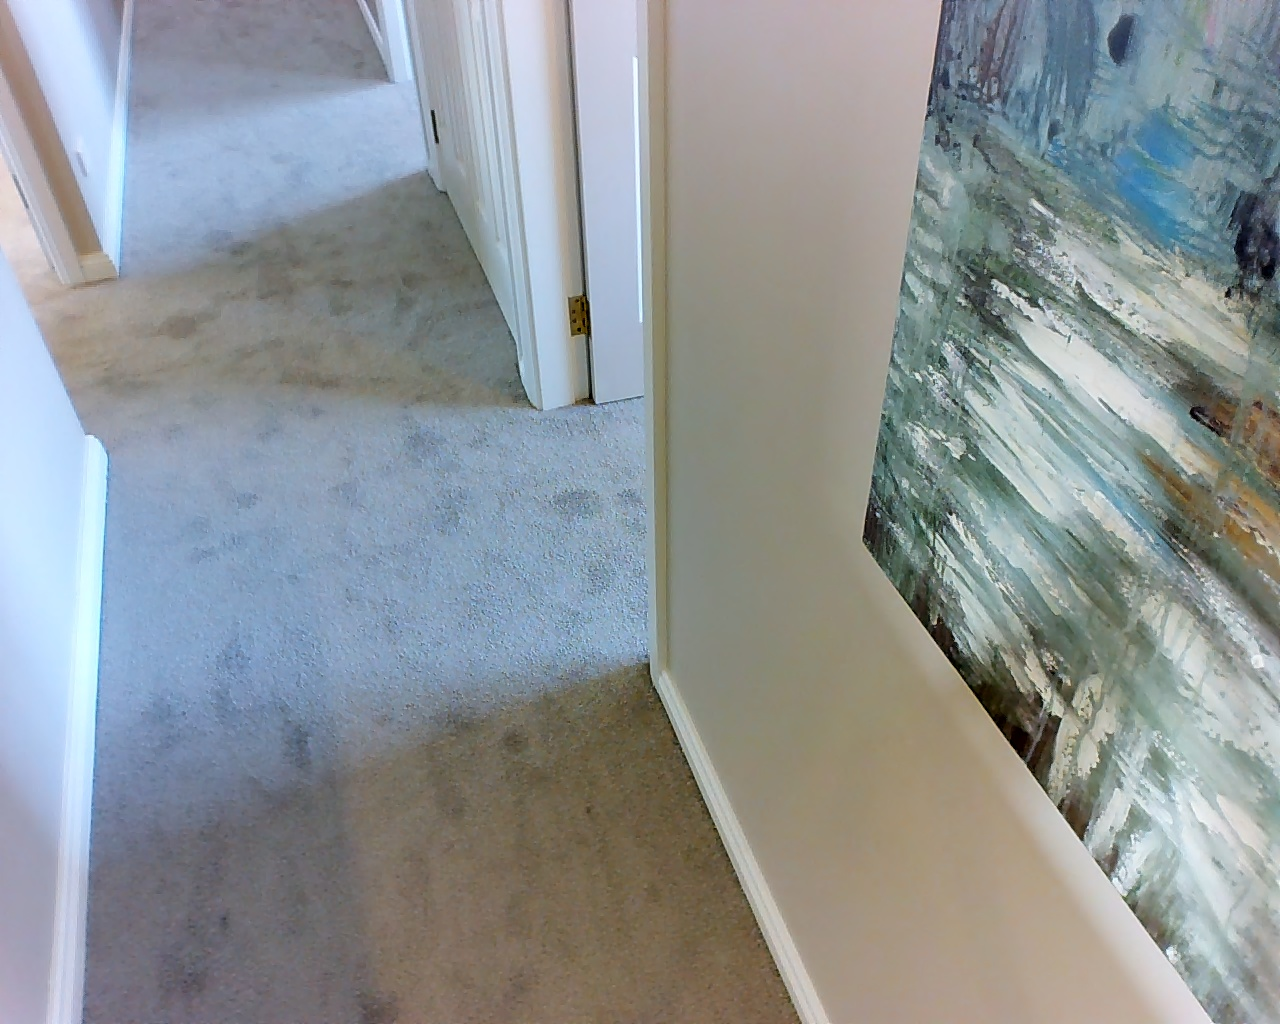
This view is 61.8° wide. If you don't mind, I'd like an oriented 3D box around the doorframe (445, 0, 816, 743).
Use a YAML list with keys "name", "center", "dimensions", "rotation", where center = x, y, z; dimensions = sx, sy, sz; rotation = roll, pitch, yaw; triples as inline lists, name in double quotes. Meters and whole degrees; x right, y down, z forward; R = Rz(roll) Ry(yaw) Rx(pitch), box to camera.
- name: "doorframe"
  center: [-0.090, -0.740, 1.540]
  dimensions: [0.210, 2.100, 1.060]
  rotation: [-14, 43, -13]
